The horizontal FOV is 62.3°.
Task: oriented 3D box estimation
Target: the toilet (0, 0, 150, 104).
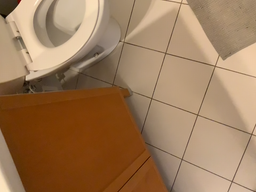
[{"bbox_3d":[-0.390,-0.280,0.910,0.660,0.790,0.380,-29,83,22],"label":"toilet"}]
